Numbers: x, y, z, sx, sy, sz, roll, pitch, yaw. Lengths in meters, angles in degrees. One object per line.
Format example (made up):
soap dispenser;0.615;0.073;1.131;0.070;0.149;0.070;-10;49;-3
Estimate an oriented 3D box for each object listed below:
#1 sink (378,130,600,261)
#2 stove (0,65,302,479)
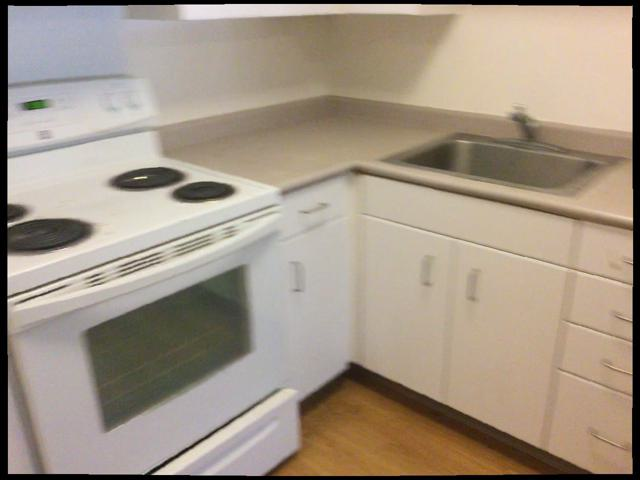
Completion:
sink;0.559;-0.180;1.940;0.559;0.200;0.450;20;32;36
stove;-0.619;0.200;1.670;0.799;1.192;0.740;19;33;35
